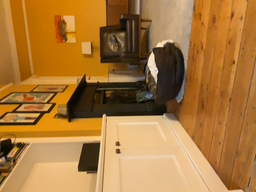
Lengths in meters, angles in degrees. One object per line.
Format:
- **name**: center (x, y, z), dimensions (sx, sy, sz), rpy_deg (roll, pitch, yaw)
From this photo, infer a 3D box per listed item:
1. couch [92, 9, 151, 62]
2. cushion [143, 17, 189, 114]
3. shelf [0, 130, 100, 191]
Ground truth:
- **couch**: center (-0.130, -1.020, 3.820), dimensions (0.940, 0.930, 0.730), rpy_deg (-145, 55, -84)
- **cushion**: center (0.350, -0.320, 2.260), dimensions (0.630, 0.230, 0.810), rpy_deg (96, 171, -53)
- **shelf**: center (-1.190, 0.740, 1.730), dimensions (1.290, 1.860, 0.300), rpy_deg (-106, 16, -71)
